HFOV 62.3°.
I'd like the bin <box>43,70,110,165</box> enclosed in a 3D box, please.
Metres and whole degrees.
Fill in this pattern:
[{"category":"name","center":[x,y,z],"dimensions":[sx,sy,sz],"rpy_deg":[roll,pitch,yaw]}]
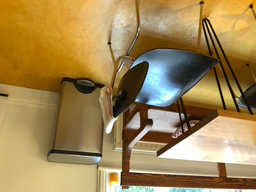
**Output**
[{"category":"bin","center":[-0.410,0.180,1.770],"dimensions":[0.440,0.680,0.290],"rpy_deg":[10,145,-19]}]
